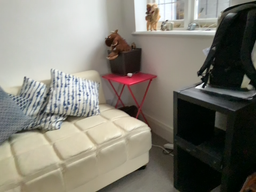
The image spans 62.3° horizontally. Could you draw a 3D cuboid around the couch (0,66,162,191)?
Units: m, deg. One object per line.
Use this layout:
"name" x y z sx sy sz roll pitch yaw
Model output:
"couch" -0.850 0.380 1.580 2.040 0.700 1.020 -17 25 -31
